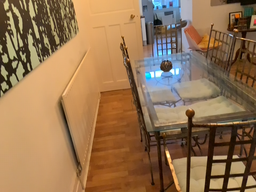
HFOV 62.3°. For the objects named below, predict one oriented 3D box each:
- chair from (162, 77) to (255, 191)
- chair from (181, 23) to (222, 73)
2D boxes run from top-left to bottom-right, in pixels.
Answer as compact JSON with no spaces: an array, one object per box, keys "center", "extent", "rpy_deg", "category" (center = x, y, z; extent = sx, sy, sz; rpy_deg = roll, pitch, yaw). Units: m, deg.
[{"center":[0.490,0.450,1.230],"extent":[0.430,0.920,0.600],"rpy_deg":[-7,25,1],"category":"chair"},{"center":[1.420,-0.940,4.110],"extent":[0.580,0.820,0.520],"rpy_deg":[11,31,35],"category":"chair"}]
